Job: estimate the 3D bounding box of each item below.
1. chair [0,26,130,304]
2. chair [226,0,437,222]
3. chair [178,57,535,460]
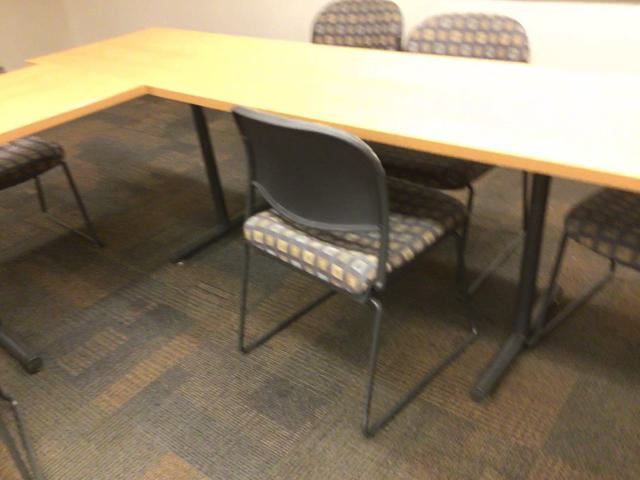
[{"bbox_3d":[-1.180,-0.300,2.060,0.630,0.780,0.570,18,34,35],"label":"chair"},{"bbox_3d":[0.070,-0.560,2.280,0.510,0.700,0.610,18,34,35],"label":"chair"},{"bbox_3d":[0.110,-0.020,1.510,0.600,0.750,0.580,18,34,35],"label":"chair"}]
